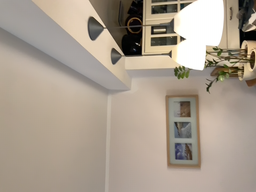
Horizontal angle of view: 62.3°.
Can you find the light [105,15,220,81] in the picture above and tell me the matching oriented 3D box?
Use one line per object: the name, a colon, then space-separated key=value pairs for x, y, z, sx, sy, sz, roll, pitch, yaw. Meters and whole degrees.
light: x=0.240 y=-0.320 z=1.540 sx=0.310 sy=0.730 sz=0.350 roll=45 pitch=-134 yaw=-76
